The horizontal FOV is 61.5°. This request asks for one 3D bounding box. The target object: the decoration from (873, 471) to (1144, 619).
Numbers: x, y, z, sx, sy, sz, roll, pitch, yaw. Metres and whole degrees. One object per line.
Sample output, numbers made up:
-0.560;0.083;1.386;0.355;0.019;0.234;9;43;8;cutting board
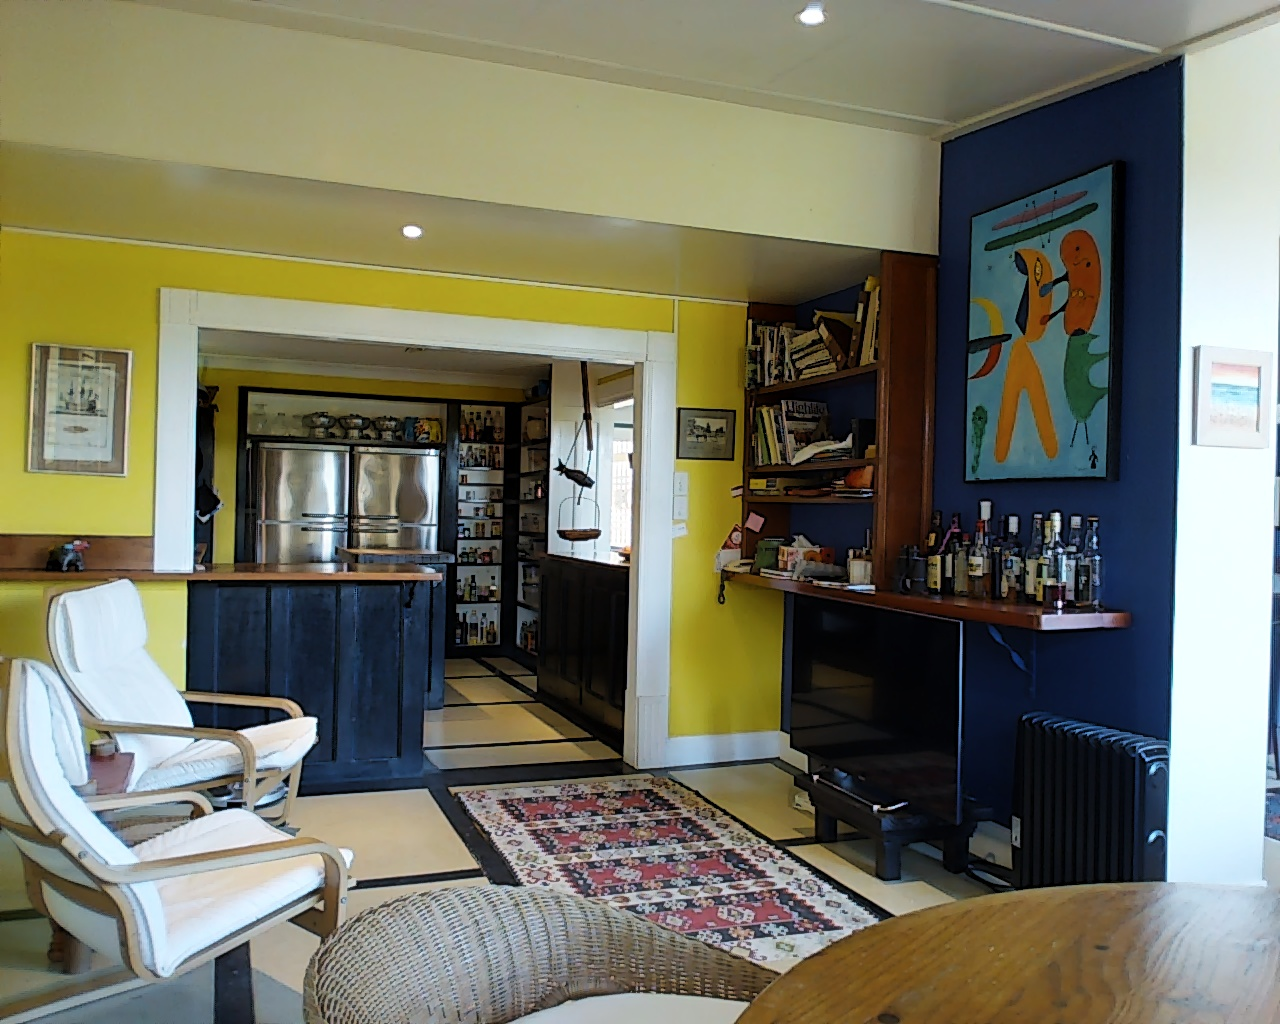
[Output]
1.250;0.100;3.810;0.280;0.450;1.060;1;0;-21;decoration
